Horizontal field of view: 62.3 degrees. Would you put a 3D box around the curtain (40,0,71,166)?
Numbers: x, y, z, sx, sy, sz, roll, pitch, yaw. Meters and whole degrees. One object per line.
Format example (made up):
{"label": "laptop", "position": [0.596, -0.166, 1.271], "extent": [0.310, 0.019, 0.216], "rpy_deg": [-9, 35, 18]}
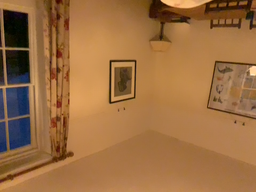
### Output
{"label": "curtain", "position": [-0.850, -0.440, 2.520], "extent": [0.150, 2.630, 0.290], "rpy_deg": [14, -164, 39]}
